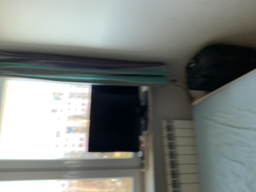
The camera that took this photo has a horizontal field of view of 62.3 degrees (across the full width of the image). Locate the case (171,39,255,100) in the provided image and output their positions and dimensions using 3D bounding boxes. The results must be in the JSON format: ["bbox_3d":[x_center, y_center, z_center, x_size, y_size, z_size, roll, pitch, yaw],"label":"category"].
[{"bbox_3d":[0.790,-0.210,1.970,0.530,0.580,0.340,131,140,-68],"label":"case"}]
